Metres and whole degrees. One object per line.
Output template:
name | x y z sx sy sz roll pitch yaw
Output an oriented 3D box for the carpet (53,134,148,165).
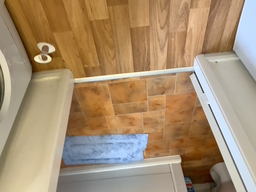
carpet | -0.240 0.500 1.940 0.790 0.050 0.440 0 136 -6
